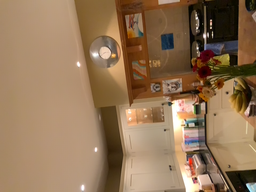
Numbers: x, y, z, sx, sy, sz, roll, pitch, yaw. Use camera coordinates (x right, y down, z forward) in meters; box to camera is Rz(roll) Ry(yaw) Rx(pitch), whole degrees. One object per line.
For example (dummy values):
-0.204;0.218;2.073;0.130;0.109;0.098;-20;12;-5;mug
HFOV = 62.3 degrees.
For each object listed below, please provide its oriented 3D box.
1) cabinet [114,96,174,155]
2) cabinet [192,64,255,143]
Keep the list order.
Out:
0.300;0.540;3.880;0.370;0.960;0.930;-83;-14;-70;cabinet
1.600;0.110;3.520;0.650;0.870;1.070;-83;-14;-70;cabinet
